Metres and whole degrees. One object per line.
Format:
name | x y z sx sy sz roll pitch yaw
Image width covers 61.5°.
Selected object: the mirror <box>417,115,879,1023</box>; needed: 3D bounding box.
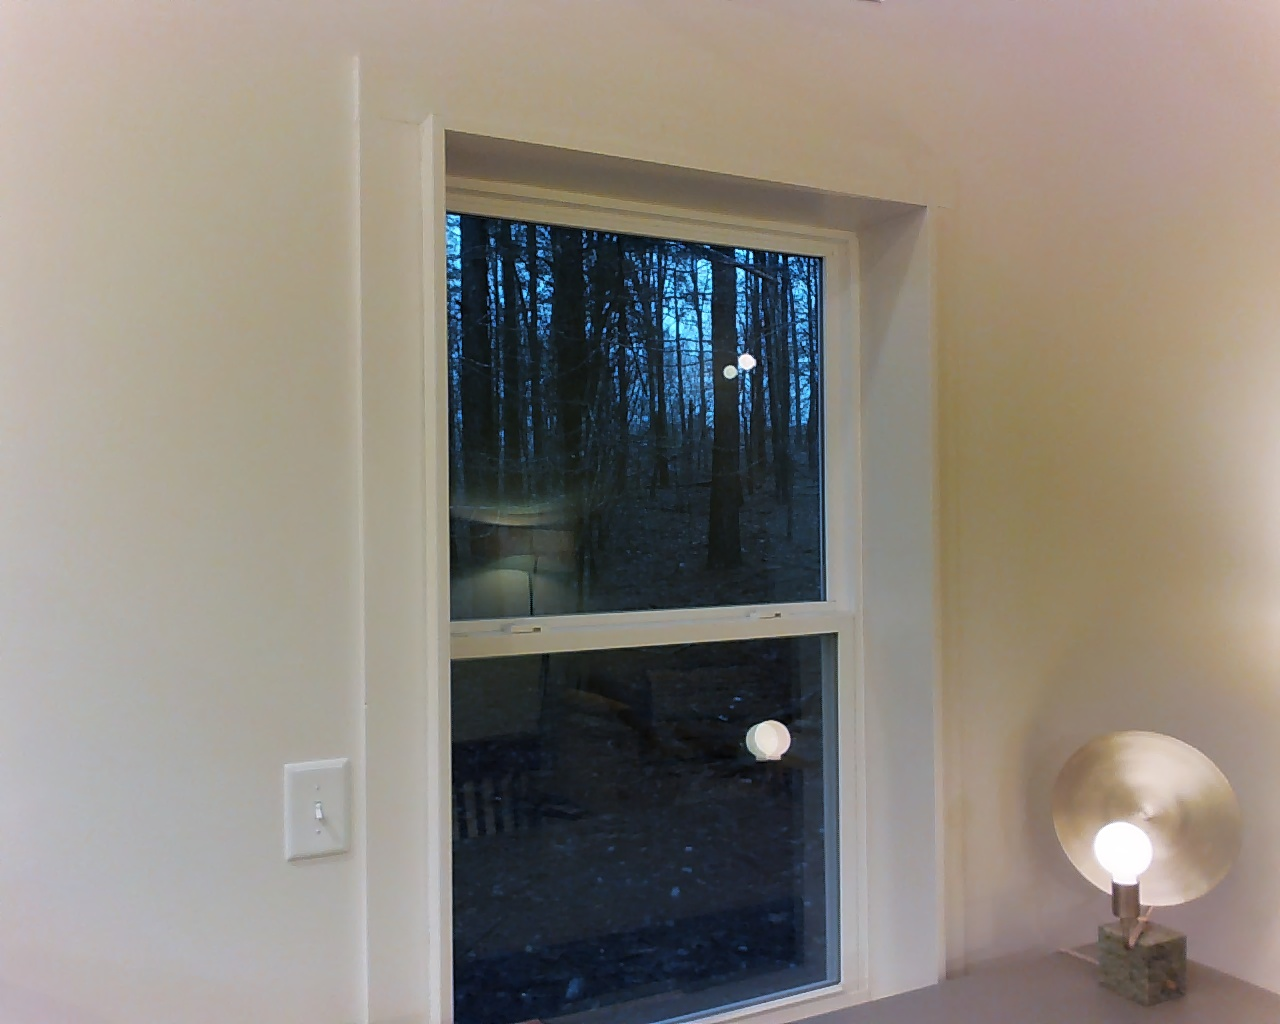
mirror | 0.050 0.140 1.900 0.870 1.530 0.050 0 0 -26
